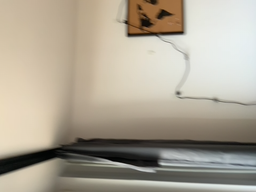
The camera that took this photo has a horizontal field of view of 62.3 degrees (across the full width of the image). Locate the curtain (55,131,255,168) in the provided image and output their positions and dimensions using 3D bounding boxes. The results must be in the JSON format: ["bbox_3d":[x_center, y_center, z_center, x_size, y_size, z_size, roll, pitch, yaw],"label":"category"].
[{"bbox_3d":[0.690,0.370,1.480,0.330,2.350,0.200,55,-145,-78],"label":"curtain"}]
